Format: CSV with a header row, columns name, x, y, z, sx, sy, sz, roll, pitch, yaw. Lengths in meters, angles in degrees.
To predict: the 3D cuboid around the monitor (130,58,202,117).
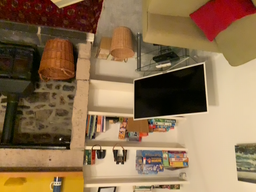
name,x,y,z,sx,sy,sz,roll,pitch,yaw
monitor,0.370,-0.060,2.380,0.880,0.510,0.050,-12,161,39
